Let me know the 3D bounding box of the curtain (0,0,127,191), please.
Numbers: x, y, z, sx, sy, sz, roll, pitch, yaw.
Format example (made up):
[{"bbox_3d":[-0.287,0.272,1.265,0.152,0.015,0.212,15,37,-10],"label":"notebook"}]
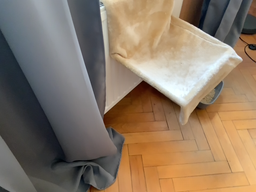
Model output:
[{"bbox_3d":[-0.250,-0.330,0.130,0.240,2.480,0.600,30,54,19],"label":"curtain"}]
